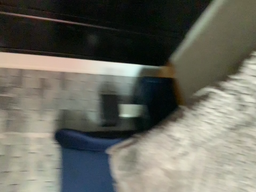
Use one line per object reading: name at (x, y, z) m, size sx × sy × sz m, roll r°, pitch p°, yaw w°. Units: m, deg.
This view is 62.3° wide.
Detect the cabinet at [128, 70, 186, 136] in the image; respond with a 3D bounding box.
cabinet at (0.310, 0.090, 2.490) m, size 0.420 × 0.410 × 0.630 m, roll 125°, pitch 141°, yaw -55°
